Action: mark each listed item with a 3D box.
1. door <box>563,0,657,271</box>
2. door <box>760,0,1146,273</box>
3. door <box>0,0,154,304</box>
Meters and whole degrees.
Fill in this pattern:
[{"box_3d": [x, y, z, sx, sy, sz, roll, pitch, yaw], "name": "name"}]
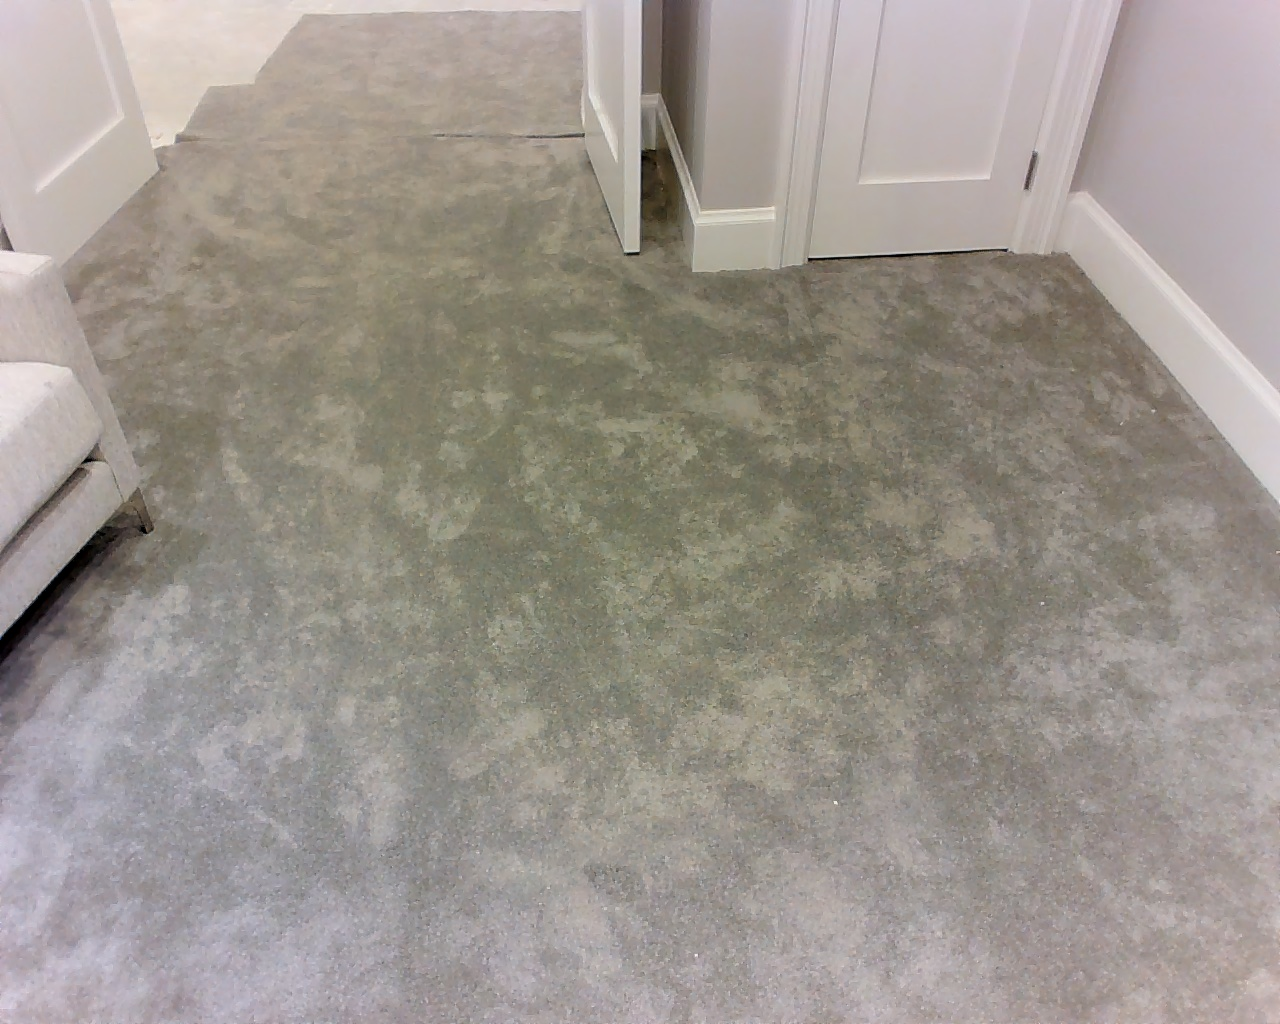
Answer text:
[{"box_3d": [-0.100, -1.750, 2.800, 0.110, 2.020, 0.870, -8, 42, -9], "name": "door"}, {"box_3d": [0.830, -1.550, 2.500, 0.940, 2.140, 0.040, -4, 42, -5], "name": "door"}, {"box_3d": [-1.670, -1.640, 2.600, 0.050, 2.120, 0.800, 3, 41, 3], "name": "door"}]
